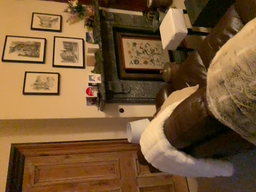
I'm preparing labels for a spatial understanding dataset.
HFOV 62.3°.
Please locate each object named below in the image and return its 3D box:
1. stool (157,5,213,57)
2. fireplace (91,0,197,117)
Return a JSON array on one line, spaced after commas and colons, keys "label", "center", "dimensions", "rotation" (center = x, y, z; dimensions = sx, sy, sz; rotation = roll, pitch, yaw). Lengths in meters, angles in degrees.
[{"label": "stool", "center": [0.680, -0.790, 2.630], "dimensions": [0.420, 0.460, 0.400], "rotation": [119, 148, -59]}, {"label": "fireplace", "center": [0.110, -0.680, 3.210], "dimensions": [0.760, 1.220, 1.820], "rotation": [123, 145, -61]}]
